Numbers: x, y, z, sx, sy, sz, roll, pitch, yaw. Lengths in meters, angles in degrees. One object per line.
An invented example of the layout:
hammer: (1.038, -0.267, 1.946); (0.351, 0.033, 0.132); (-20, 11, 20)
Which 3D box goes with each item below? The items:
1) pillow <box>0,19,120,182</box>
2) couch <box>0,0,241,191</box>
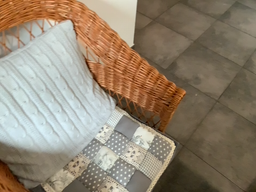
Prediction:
pillow: (-0.300, 0.030, 0.810); (0.240, 0.470, 0.390); (31, 94, 16)
couch: (-0.210, 0.150, 0.880); (0.700, 0.930, 0.730); (31, 59, 17)
